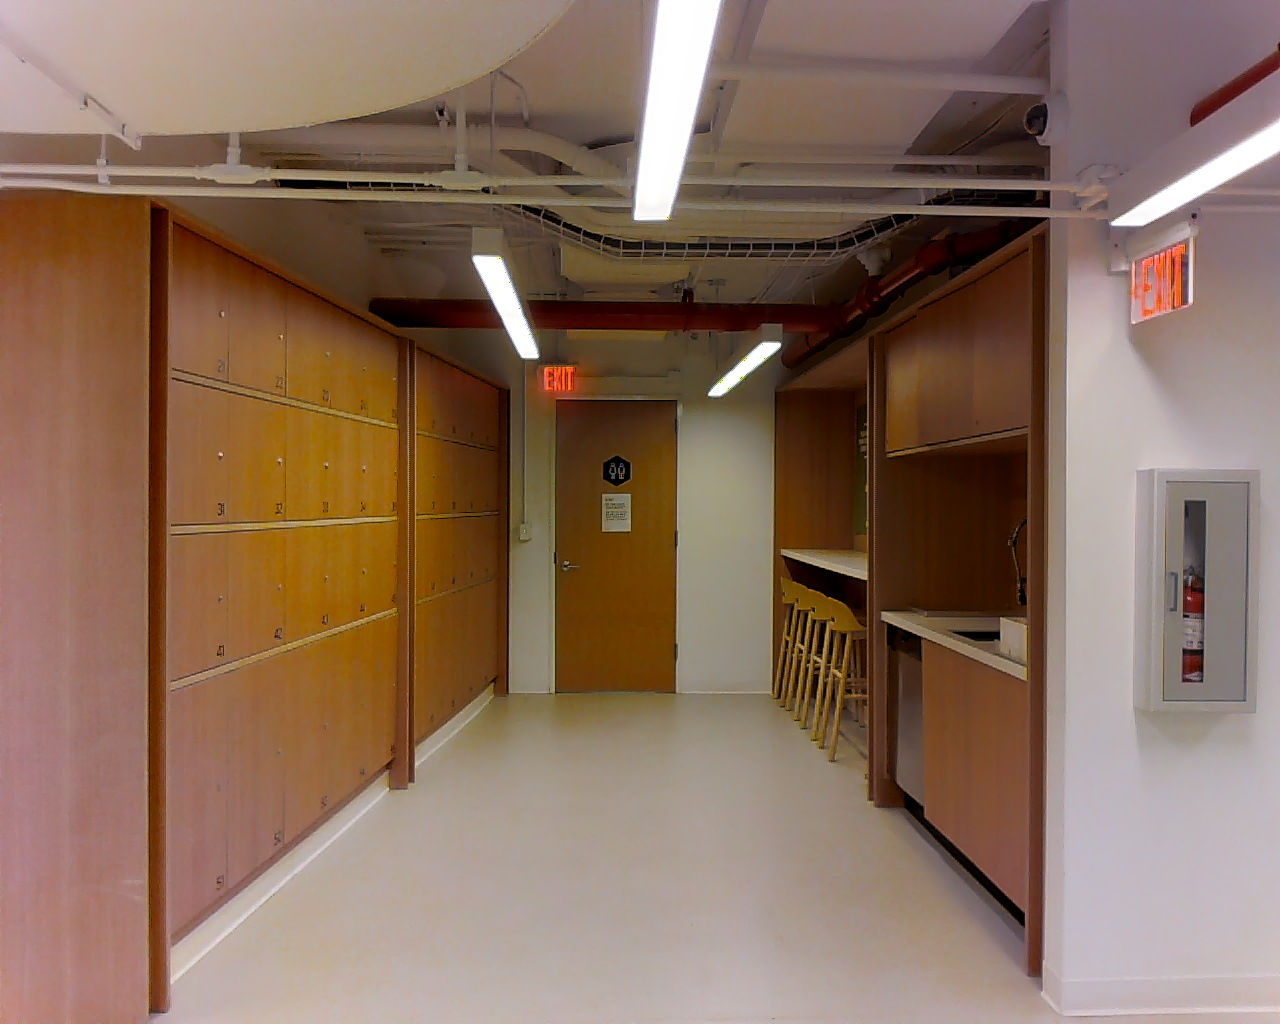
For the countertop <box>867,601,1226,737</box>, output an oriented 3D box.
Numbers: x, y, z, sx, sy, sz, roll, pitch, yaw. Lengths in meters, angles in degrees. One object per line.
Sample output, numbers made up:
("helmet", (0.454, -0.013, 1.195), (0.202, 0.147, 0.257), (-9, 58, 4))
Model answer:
("countertop", (1.470, 0.570, 4.270), (0.660, 0.270, 1.820), (1, 0, -3))
